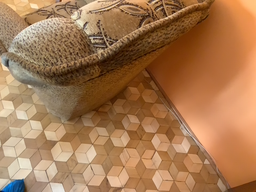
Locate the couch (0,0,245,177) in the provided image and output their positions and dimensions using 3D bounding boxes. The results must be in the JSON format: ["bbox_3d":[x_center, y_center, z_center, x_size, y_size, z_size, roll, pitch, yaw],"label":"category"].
[{"bbox_3d":[-0.230,-0.340,1.200,0.930,0.920,0.980,-31,69,-27],"label":"couch"}]
